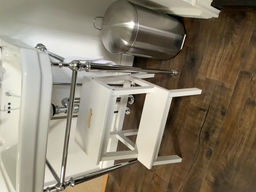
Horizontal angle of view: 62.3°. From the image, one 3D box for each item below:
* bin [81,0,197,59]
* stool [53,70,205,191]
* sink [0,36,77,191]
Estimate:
[{"bbox_3d":[0.050,-0.380,1.170,0.420,0.430,0.240,25,111,46],"label":"bin"},{"bbox_3d":[-0.020,0.160,1.190,0.550,0.570,0.490,23,109,47],"label":"stool"},{"bbox_3d":[-0.440,0.090,0.900,0.490,0.170,0.620,25,110,46],"label":"sink"}]
